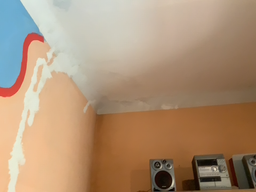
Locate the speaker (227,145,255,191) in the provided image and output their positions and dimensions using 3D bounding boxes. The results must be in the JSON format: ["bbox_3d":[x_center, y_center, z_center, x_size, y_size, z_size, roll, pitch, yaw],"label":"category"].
[{"bbox_3d":[1.230,0.740,2.100,0.270,0.370,0.480,-5,-31,7],"label":"speaker"}]
